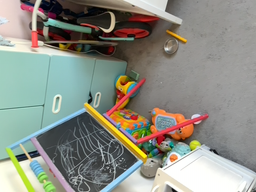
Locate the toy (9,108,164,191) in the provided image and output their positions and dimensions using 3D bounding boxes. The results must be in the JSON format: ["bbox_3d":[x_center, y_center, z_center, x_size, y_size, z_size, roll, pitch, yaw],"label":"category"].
[{"bbox_3d":[-0.240,0.310,1.100,0.520,0.600,0.290,36,115,51],"label":"toy"}]
